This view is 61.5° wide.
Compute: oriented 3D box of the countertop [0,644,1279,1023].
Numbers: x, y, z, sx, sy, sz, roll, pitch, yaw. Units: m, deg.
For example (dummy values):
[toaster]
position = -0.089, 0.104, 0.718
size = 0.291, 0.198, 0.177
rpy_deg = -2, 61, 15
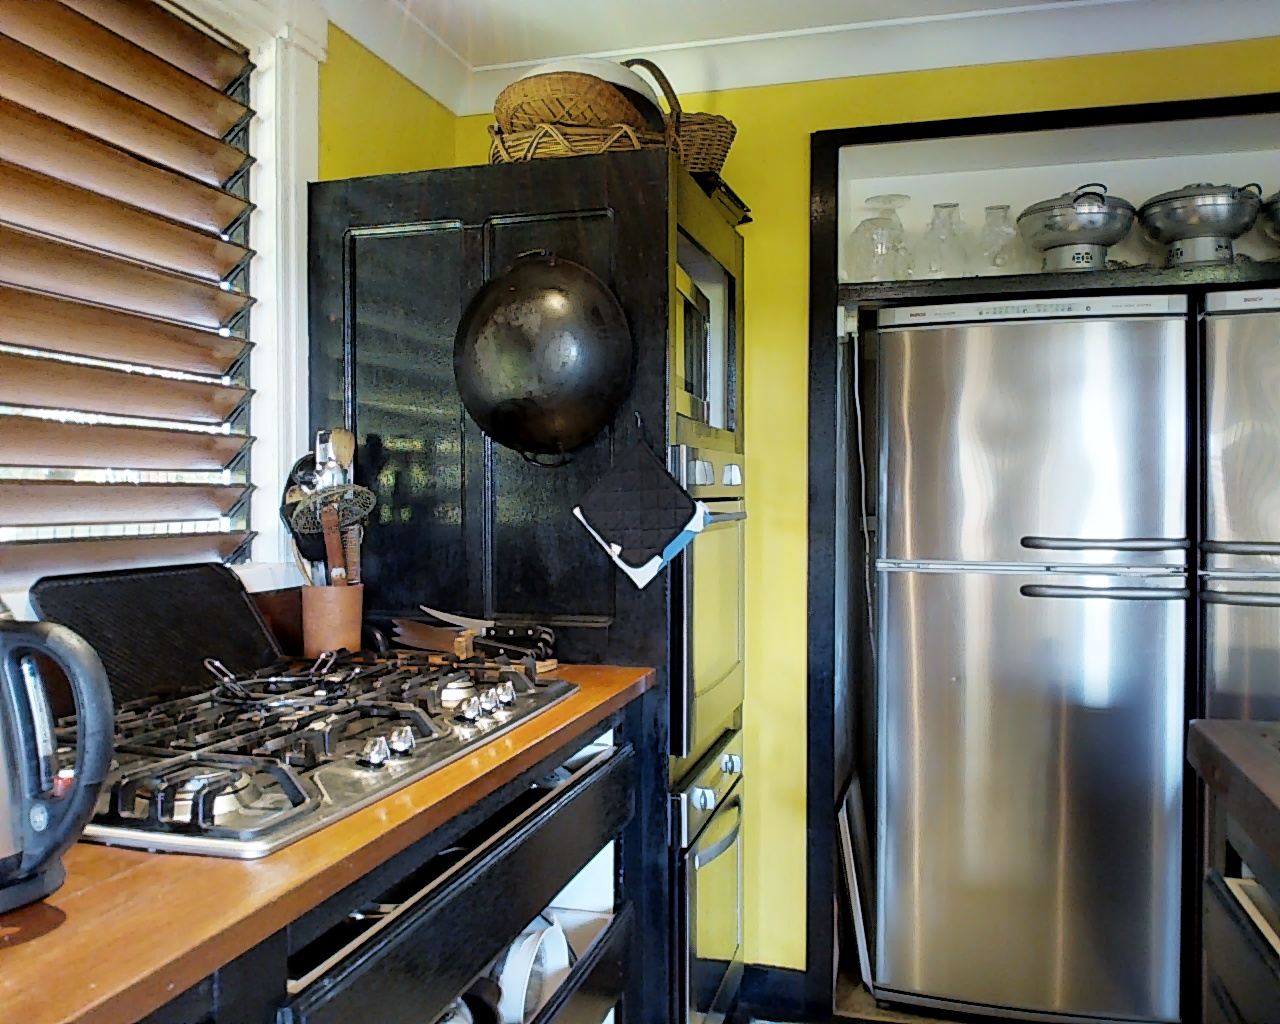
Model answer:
[countertop]
position = -0.290, 0.340, 0.350
size = 1.749, 0.070, 3.290
rpy_deg = 0, 1, 16
